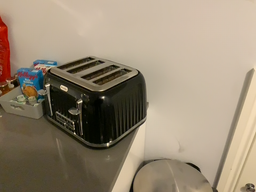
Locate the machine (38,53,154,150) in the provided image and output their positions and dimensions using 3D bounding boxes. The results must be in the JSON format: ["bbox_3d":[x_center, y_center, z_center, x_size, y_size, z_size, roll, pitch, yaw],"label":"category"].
[{"bbox_3d":[-0.100,-0.010,0.730,0.250,0.170,0.280,23,36,36],"label":"machine"}]
